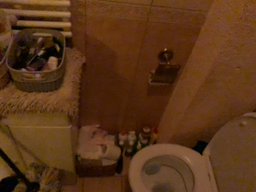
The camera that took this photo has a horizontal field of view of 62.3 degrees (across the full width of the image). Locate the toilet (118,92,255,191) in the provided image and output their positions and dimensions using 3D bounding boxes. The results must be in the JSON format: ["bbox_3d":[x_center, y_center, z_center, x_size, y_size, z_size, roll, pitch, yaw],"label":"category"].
[{"bbox_3d":[0.330,0.400,1.130,0.650,0.790,0.390,2,48,-10],"label":"toilet"}]

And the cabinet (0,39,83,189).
[{"bbox_3d":[-0.440,0.170,1.120,0.380,0.860,0.320,1,49,-11],"label":"cabinet"}]
